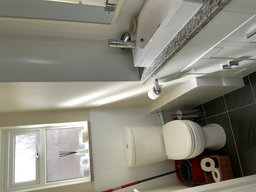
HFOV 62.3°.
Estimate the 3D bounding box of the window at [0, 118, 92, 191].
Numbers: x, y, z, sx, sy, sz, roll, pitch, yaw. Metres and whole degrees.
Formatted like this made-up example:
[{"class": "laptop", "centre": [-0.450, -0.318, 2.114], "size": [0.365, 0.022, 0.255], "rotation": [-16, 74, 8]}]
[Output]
[{"class": "window", "centre": [-0.870, 0.570, 2.090], "size": [0.130, 0.960, 0.650], "rotation": [133, 133, -65]}]
